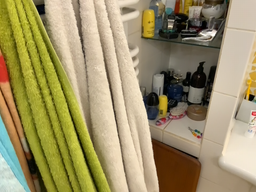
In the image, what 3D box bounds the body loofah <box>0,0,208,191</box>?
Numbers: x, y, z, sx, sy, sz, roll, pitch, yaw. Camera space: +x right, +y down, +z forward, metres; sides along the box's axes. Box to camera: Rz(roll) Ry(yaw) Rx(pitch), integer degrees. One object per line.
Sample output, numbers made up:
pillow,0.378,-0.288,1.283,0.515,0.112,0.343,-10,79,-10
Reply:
body loofah,-0.100,0.200,0.600,0.280,1.210,0.640,21,38,31
